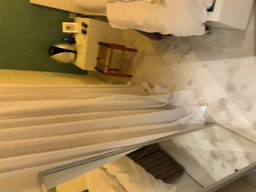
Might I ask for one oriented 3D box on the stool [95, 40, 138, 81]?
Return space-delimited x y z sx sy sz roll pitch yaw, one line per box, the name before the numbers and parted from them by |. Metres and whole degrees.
stool | -0.150 -0.430 2.560 0.370 0.310 0.390 31 115 52
